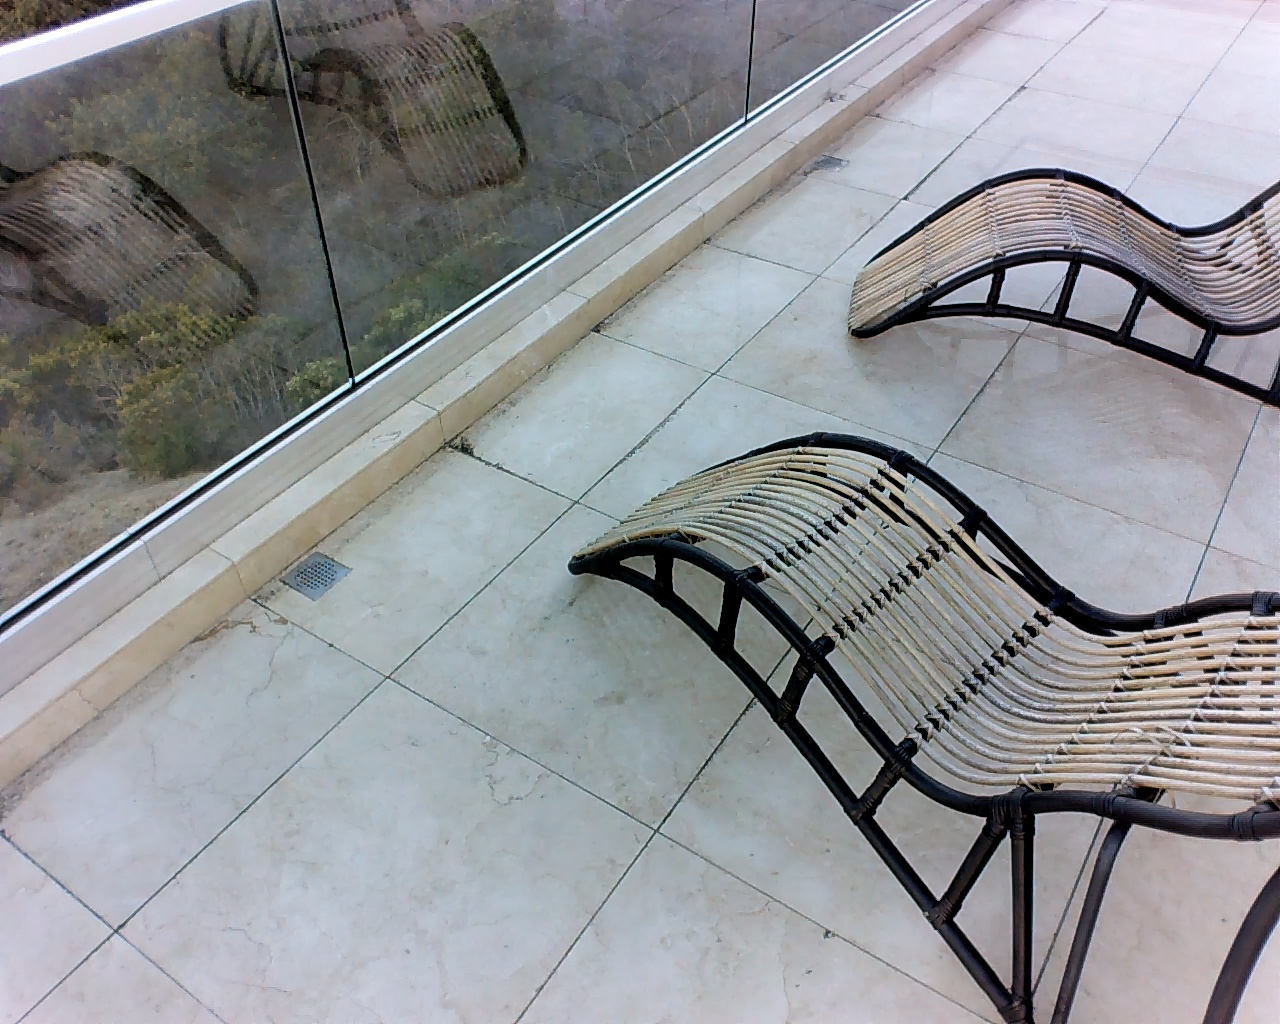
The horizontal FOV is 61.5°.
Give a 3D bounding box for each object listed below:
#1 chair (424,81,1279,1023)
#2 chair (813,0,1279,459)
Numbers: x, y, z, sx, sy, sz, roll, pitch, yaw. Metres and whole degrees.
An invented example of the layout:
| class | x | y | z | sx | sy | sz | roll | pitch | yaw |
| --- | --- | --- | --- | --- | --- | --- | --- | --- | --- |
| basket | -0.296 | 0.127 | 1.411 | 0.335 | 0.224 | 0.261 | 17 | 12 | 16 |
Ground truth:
| class | x | y | z | sx | sy | sz | roll | pitch | yaw |
| --- | --- | --- | --- | --- | --- | --- | --- | --- | --- |
| chair | 0.520 | 0.060 | 1.690 | 1.530 | 0.860 | 0.810 | 32 | 51 | 31 |
| chair | 1.270 | -0.810 | 2.640 | 1.520 | 0.920 | 0.910 | 7 | 42 | 8 |
